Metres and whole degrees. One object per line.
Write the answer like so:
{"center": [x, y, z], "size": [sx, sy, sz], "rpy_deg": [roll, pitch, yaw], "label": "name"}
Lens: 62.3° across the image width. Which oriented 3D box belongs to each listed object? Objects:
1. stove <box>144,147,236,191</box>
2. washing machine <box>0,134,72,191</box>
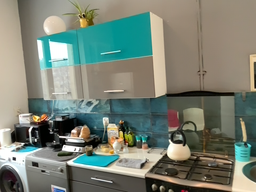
{"center": [0.530, 0.620, 1.710], "size": [0.590, 0.160, 0.620], "rpy_deg": [-1, 6, 29], "label": "stove"}
{"center": [-1.220, 1.000, 2.710], "size": [0.660, 0.830, 0.640], "rpy_deg": [-1, 6, 29], "label": "washing machine"}
